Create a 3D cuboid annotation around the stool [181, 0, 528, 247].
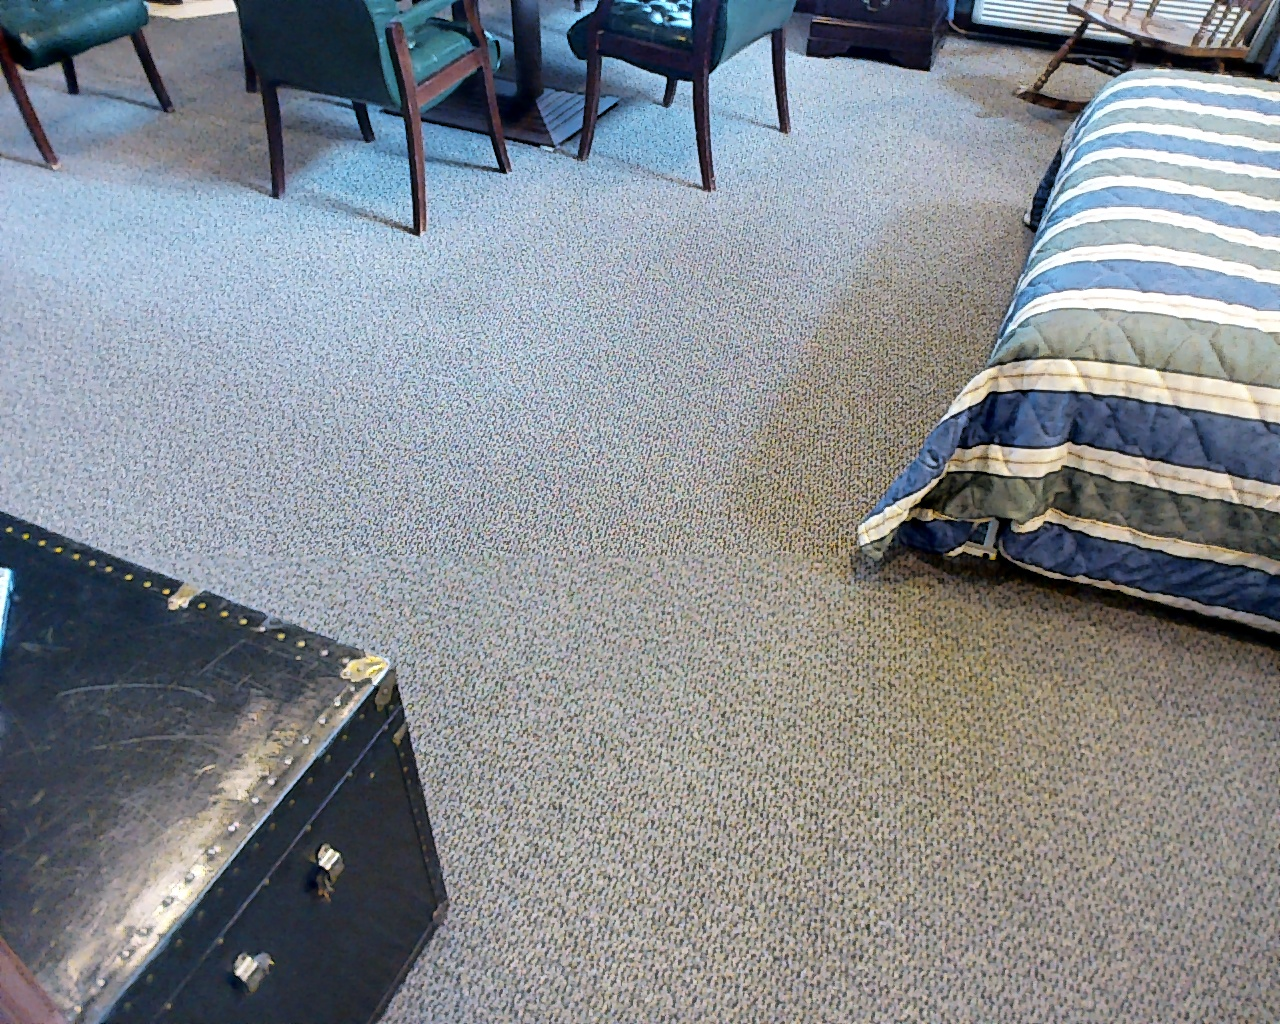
[{"bbox_3d":[-0.860,-1.460,3.380,0.680,0.880,0.740,16,44,18],"label":"stool"}]
